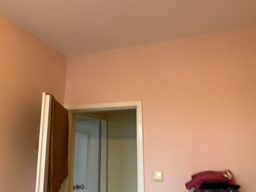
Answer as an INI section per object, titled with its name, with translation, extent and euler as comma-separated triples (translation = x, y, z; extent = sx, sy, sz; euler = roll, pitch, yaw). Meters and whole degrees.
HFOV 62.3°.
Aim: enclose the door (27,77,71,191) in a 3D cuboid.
[door]
translation = -0.590, 0.980, 1.590
extent = 0.120, 2.080, 0.850
euler = 1, -12, -8
